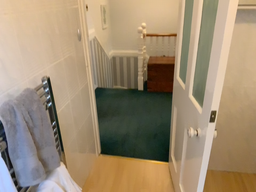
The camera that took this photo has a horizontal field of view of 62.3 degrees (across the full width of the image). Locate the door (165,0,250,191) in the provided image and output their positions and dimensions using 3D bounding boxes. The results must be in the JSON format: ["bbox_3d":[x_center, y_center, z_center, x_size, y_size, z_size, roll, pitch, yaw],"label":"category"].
[{"bbox_3d":[0.390,-0.300,1.190,0.070,2.610,0.730,-3,25,-3],"label":"door"}]
